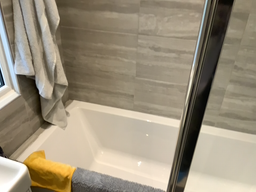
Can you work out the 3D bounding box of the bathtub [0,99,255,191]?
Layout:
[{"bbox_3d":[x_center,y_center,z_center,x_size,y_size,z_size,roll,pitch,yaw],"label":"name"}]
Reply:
[{"bbox_3d":[0.190,0.630,1.400,1.680,0.610,0.820,10,32,13],"label":"bathtub"}]
